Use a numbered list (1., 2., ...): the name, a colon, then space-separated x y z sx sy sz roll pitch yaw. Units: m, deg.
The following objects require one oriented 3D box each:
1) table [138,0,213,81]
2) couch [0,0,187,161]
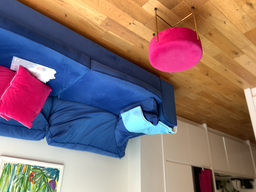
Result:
1. table: 0.370 -0.440 1.720 0.440 0.400 0.380 23 147 -38
2. couch: -0.650 -0.020 2.090 2.500 0.900 1.080 22 148 -37
